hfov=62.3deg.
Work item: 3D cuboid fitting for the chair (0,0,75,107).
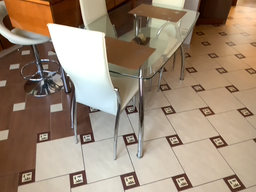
[{"bbox_3d":[-0.930,-0.450,2.010,0.460,0.820,0.600,19,43,20],"label":"chair"}]

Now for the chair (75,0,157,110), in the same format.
[{"bbox_3d":[-0.090,-0.410,1.870,0.520,0.960,0.340,19,43,20],"label":"chair"}]

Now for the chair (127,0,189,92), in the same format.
[{"bbox_3d":[0.290,-0.620,2.130,0.370,0.970,0.530,22,44,23],"label":"chair"}]

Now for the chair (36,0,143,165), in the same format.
[{"bbox_3d":[-0.190,-0.060,1.450,0.370,0.960,0.480,18,42,19],"label":"chair"}]
